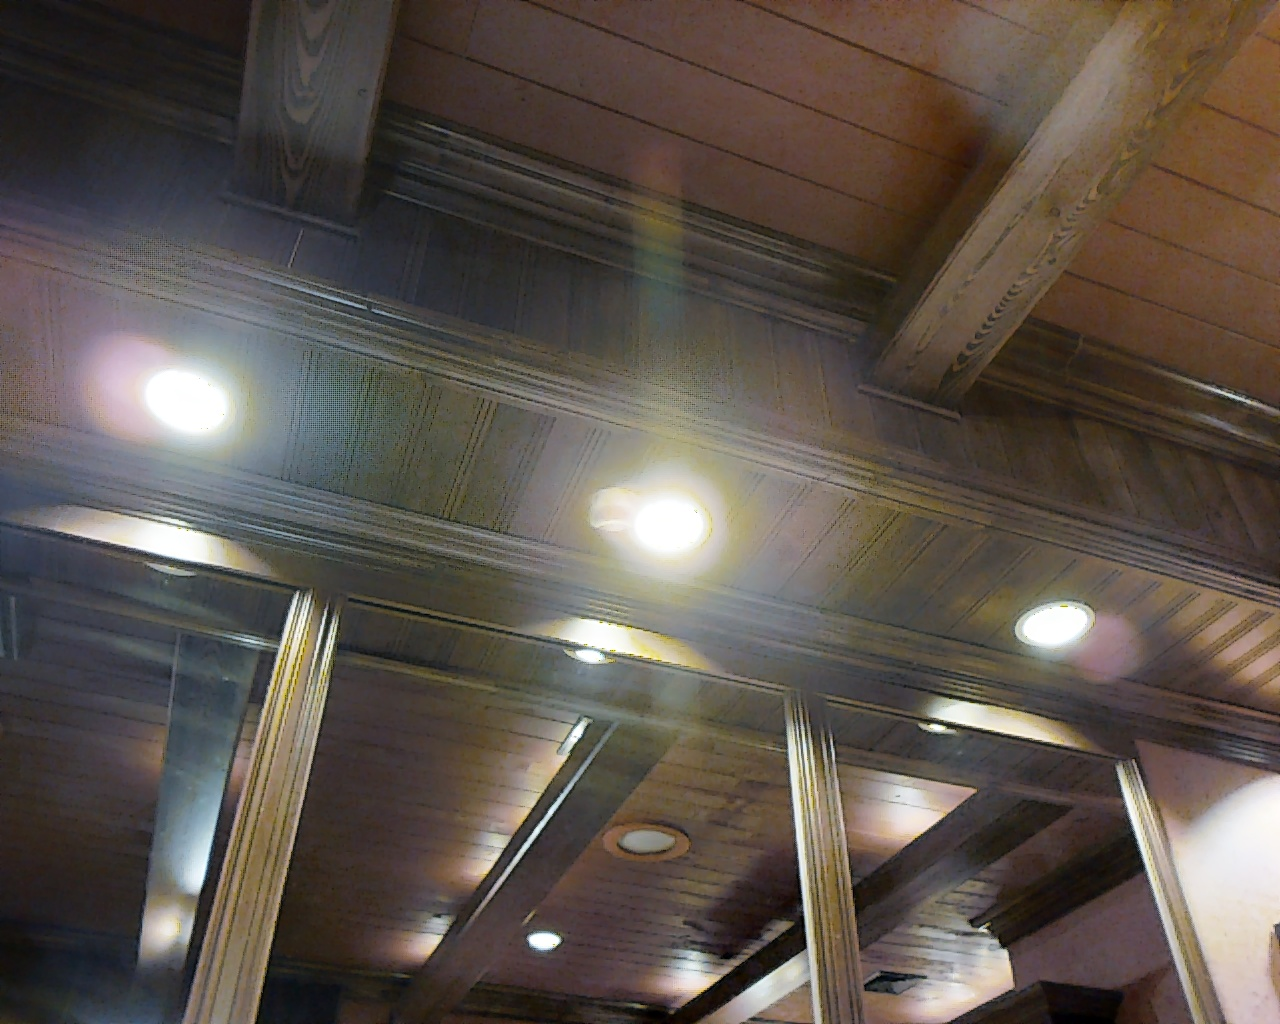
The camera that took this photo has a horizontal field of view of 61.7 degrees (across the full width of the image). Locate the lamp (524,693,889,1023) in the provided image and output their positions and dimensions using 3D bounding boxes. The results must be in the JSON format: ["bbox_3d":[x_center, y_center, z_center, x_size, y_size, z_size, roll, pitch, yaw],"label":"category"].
[{"bbox_3d":[0.090,1.591,4.330,0.250,0.270,2.950,15,-43,-16],"label":"lamp"}]
